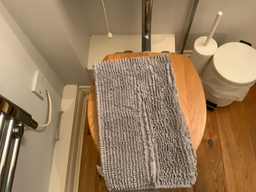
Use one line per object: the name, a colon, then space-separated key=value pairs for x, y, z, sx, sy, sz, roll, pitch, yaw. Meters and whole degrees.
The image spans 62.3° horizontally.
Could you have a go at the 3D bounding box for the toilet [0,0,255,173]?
toilet: x=0.060 y=-0.120 z=0.660 sx=0.520 sy=0.980 sz=0.620 roll=1 pitch=68 yaw=3
